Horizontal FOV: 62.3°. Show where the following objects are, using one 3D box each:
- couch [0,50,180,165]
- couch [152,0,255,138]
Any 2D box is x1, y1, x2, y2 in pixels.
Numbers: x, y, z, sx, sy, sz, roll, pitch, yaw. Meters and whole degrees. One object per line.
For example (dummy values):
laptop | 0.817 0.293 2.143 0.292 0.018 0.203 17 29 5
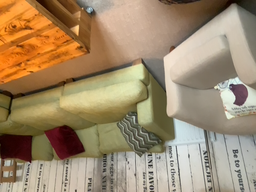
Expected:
couch | -0.870 0.400 2.840 2.770 0.790 1.170 -12 155 25
couch | 0.810 -0.140 1.670 0.880 0.730 0.810 11 155 -27
